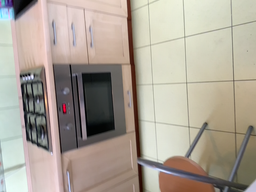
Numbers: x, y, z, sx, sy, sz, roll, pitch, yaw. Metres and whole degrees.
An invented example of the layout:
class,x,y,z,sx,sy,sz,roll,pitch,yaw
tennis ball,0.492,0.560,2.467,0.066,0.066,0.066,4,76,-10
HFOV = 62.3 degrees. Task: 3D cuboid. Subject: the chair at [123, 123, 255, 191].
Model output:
class,x,y,z,sx,sy,sz,roll,pitch,yaw
chair,0.380,0.430,1.150,0.330,0.740,0.410,-3,94,48
